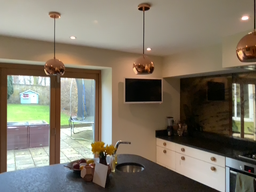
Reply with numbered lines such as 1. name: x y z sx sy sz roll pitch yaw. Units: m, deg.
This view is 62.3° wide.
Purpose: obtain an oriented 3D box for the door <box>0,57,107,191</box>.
1. door: -1.570 0.570 3.310 2.490 2.230 0.370 0 0 -28
